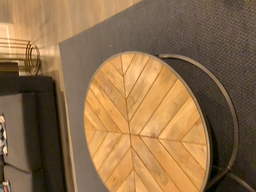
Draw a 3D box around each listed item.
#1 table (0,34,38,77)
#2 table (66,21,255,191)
[{"bbox_3d":[-1.600,-0.500,2.730,0.520,0.610,0.460,-1,95,45],"label":"table"},{"bbox_3d":[0.170,0.710,1.280,1.070,0.370,1.940,-3,93,45],"label":"table"}]
